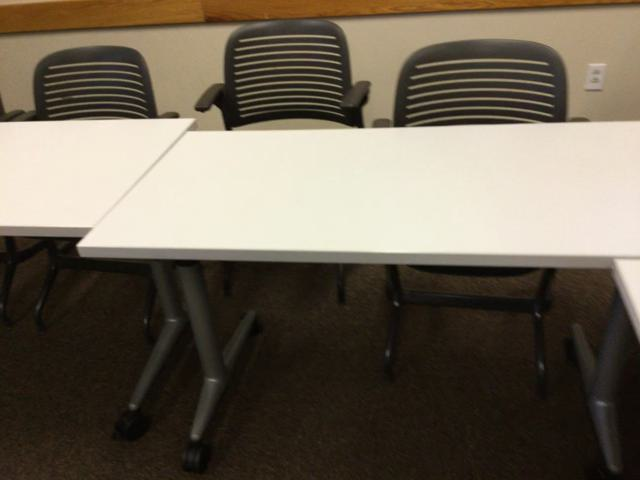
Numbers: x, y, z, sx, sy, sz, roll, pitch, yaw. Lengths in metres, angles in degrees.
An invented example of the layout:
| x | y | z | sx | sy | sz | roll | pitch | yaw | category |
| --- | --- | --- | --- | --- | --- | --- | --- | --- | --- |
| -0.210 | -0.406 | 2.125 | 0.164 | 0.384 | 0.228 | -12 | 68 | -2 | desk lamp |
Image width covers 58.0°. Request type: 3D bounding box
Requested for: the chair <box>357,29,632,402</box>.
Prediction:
| x | y | z | sx | sy | sz | roll | pitch | yaw | category |
| --- | --- | --- | --- | --- | --- | --- | --- | --- | --- |
| 0.430 | -0.060 | 1.600 | 0.530 | 0.860 | 0.500 | 1 | 34 | 12 | chair |

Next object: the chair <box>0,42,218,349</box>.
| x | y | z | sx | sy | sz | roll | pitch | yaw | category |
| --- | --- | --- | --- | --- | --- | --- | --- | --- | --- |
| -0.760 | -0.160 | 1.920 | 0.530 | 0.830 | 0.560 | 1 | 28 | 13 | chair |

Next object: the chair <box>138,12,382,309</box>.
| x | y | z | sx | sy | sz | roll | pitch | yaw | category |
| --- | --- | --- | --- | --- | --- | --- | --- | --- | --- |
| -0.130 | -0.290 | 2.020 | 0.590 | 0.840 | 0.590 | 1 | 28 | 13 | chair |
